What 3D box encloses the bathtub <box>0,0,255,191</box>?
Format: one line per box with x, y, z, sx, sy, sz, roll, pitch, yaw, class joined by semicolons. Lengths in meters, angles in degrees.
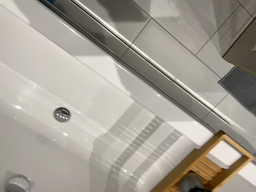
-0.230;0.080;0.860;1.680;0.550;0.690;35;106;-17;bathtub
